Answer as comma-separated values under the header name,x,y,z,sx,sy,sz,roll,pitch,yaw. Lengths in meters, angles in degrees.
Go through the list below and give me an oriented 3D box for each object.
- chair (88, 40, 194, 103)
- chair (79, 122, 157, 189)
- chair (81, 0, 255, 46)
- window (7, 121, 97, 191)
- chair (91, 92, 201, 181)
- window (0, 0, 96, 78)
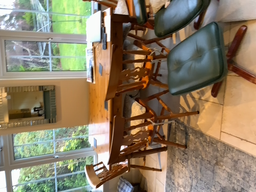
name,x,y,z,sx,sy,sz,roll,pitch,yaw
chair,0.090,-0.280,2.110,0.620,0.820,0.470,32,123,59
chair,-0.140,0.710,2.760,0.520,0.830,0.620,-9,86,64
chair,0.220,-0.870,1.540,0.740,0.970,0.780,-10,85,64
window,-0.980,1.160,2.940,0.070,1.100,1.540,19,111,62
chair,0.140,0.320,2.090,0.620,0.840,0.520,32,123,59
window,-1.030,-1.010,2.480,0.090,1.290,1.570,20,112,62
